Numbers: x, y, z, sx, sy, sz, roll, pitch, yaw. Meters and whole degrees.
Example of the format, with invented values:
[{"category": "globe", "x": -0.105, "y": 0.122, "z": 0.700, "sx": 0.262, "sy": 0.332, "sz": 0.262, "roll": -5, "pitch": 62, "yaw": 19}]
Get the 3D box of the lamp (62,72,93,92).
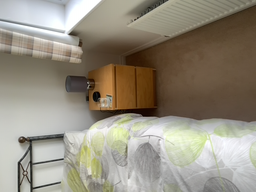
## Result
[{"category": "lamp", "x": -0.500, "y": -0.130, "z": 2.090, "sx": 0.230, "sy": 0.230, "sz": 0.170, "roll": -2, "pitch": 88, "yaw": 54}]
